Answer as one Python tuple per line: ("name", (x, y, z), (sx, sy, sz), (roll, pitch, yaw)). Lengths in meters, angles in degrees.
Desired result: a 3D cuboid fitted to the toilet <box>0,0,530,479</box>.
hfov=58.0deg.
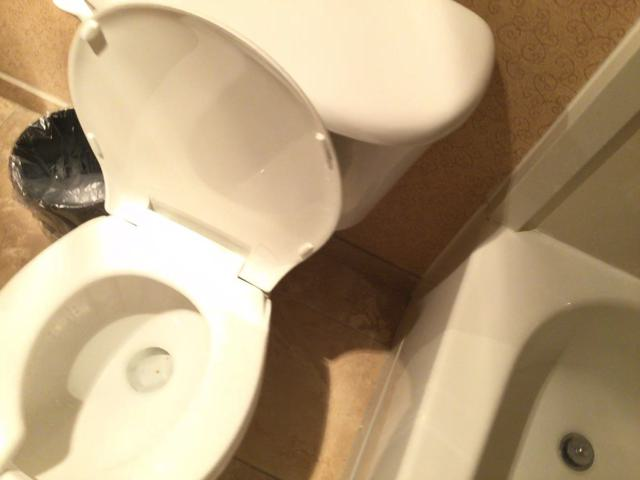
("toilet", (-0.190, 0.060, 0.790), (0.490, 0.770, 0.680), (25, 62, 3))
